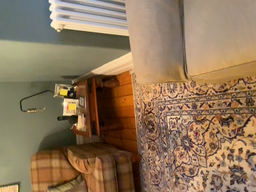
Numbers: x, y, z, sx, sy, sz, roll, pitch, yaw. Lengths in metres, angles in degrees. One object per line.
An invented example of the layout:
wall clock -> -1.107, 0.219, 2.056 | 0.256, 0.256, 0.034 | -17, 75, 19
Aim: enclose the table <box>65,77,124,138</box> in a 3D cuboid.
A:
table -> -0.410, 0.130, 2.450 | 0.610, 0.410, 0.600 | -8, 86, 56
